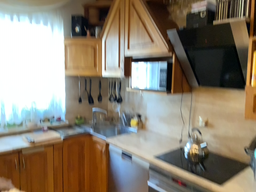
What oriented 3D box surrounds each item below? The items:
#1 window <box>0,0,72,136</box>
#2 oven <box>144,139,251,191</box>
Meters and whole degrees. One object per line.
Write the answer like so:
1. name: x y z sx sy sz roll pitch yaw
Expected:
1. window: -1.240 -0.400 2.310 1.270 1.610 0.150 -4 9 -41
2. oven: 0.560 0.910 1.800 0.590 0.850 0.610 -4 9 -41
